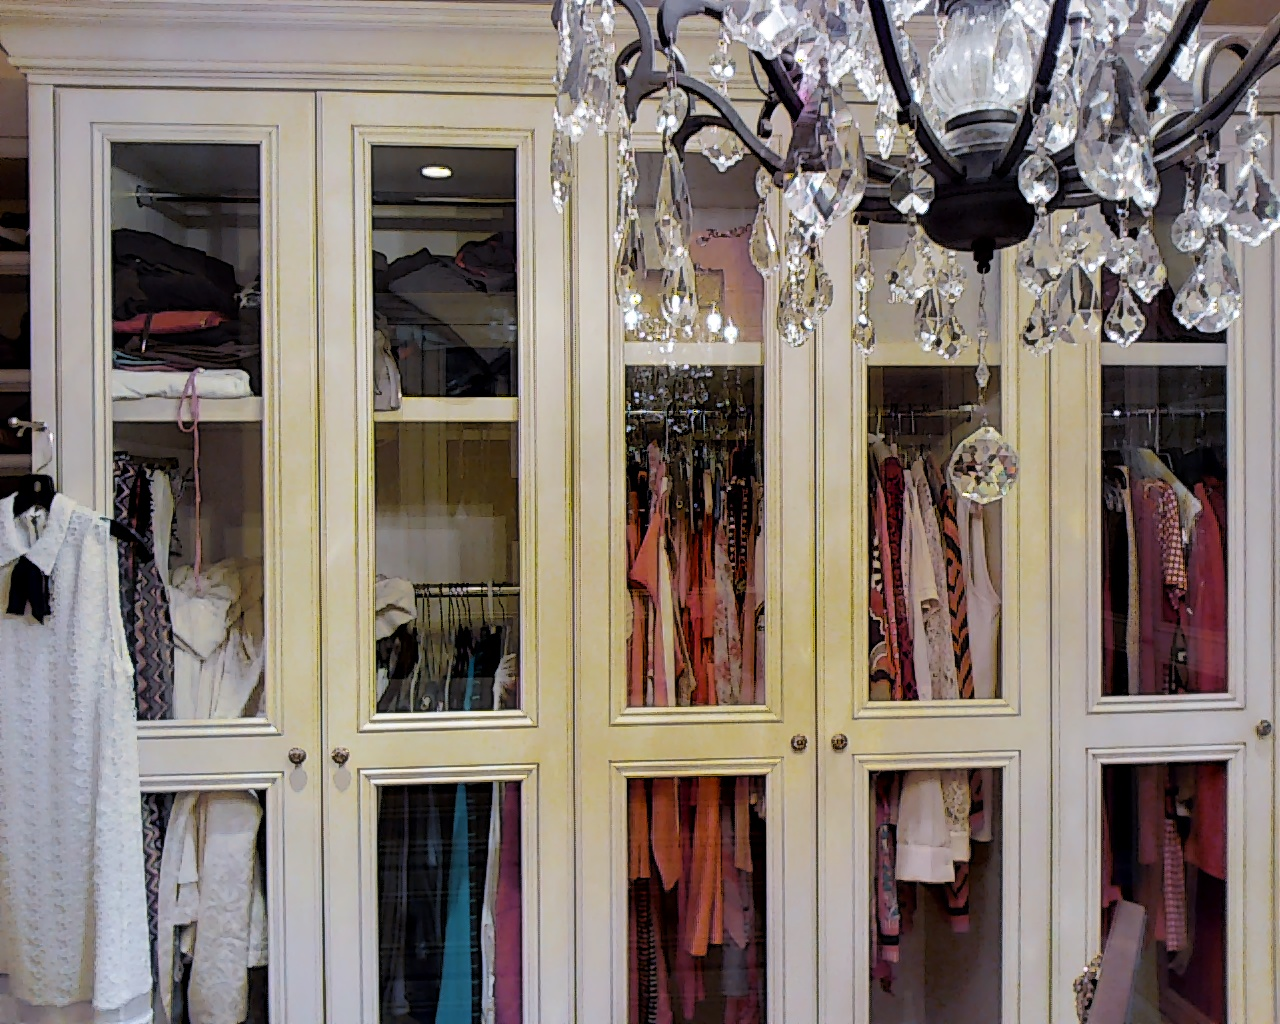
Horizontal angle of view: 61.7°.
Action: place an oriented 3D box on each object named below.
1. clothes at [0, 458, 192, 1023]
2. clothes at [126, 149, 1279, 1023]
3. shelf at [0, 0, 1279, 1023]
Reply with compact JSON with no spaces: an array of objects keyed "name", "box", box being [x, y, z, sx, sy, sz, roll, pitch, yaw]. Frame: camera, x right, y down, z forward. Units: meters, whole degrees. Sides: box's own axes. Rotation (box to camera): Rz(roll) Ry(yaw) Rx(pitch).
[{"name":"clothes","box":[-0.990,0.430,1.740,0.450,1.020,0.210,0,1,19]},{"name":"clothes","box":[0.280,0.230,2.120,2.260,1.660,0.630,0,1,-3]},{"name":"shelf","box":[0.290,0.210,2.090,2.850,2.700,0.740,0,1,-4]}]
